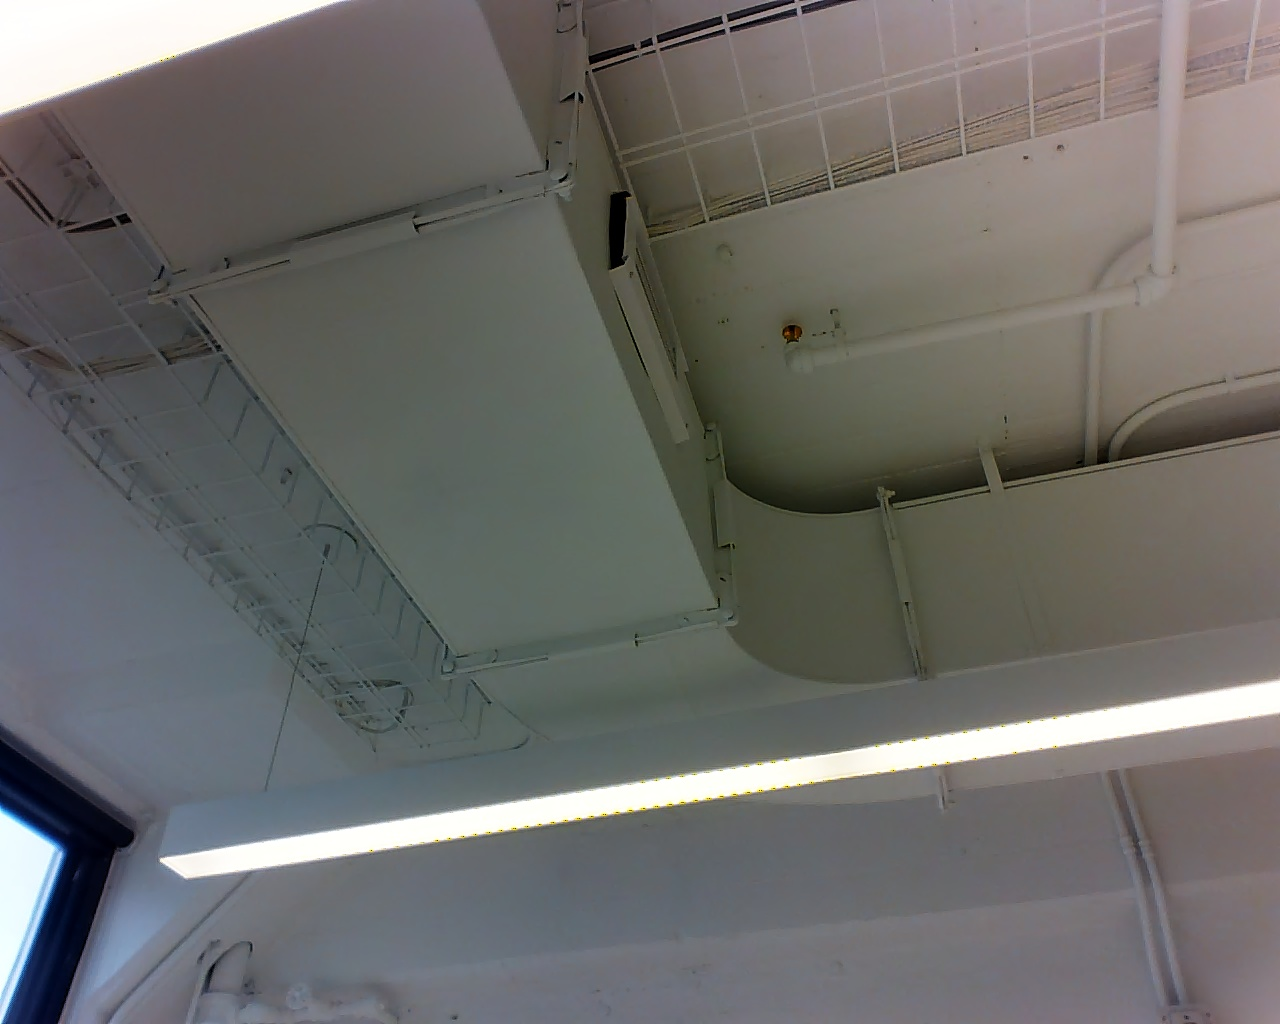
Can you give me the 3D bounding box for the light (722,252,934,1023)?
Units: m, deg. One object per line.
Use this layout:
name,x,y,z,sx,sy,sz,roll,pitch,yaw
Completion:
light,0.310,0.370,1.790,0.180,2.481,0.170,-11,-44,12
